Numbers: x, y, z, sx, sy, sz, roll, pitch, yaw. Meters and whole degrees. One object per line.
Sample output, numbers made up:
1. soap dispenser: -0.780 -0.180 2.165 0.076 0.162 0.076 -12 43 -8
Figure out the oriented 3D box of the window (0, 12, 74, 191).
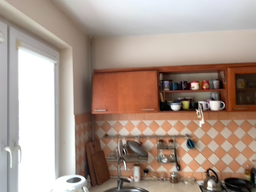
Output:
1. window: -0.720 0.240 1.380 0.090 1.420 1.430 -2 -3 11
